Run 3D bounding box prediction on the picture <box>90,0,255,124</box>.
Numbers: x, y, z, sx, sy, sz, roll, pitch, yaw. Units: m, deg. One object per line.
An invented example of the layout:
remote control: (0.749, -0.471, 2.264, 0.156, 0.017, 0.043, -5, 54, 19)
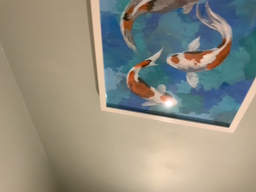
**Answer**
picture: (0.120, -0.110, 0.550, 0.430, 0.420, 0.020, 9, -137, 8)
